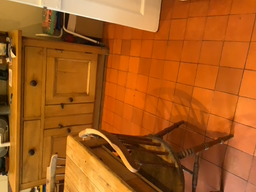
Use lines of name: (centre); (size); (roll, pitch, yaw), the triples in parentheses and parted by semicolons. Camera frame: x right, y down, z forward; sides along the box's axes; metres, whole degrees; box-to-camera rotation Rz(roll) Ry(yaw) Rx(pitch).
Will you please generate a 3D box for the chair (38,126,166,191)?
chair: (-0.190, 0.570, 1.650); (0.480, 0.820, 0.450); (20, 107, 50)
